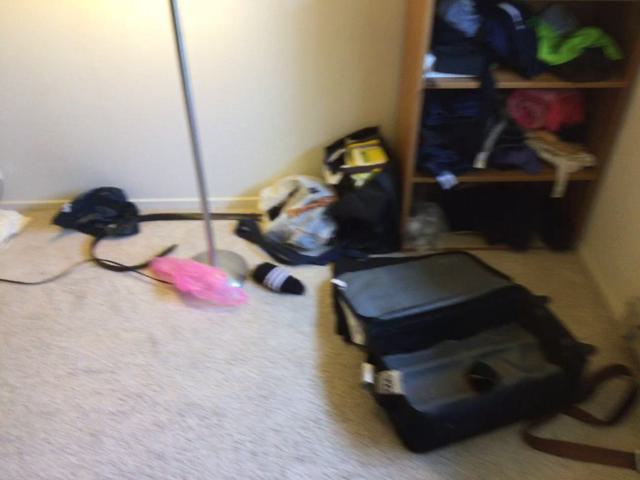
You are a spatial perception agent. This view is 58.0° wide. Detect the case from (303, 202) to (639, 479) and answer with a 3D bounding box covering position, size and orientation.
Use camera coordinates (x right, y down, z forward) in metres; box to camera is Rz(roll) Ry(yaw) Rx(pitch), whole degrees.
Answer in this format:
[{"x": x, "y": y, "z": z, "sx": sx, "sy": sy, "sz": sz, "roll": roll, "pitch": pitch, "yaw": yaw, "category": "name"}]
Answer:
[{"x": 0.410, "y": 0.230, "z": 1.720, "sx": 0.700, "sy": 0.180, "sz": 0.780, "roll": -12, "pitch": 39, "yaw": -17, "category": "case"}]
